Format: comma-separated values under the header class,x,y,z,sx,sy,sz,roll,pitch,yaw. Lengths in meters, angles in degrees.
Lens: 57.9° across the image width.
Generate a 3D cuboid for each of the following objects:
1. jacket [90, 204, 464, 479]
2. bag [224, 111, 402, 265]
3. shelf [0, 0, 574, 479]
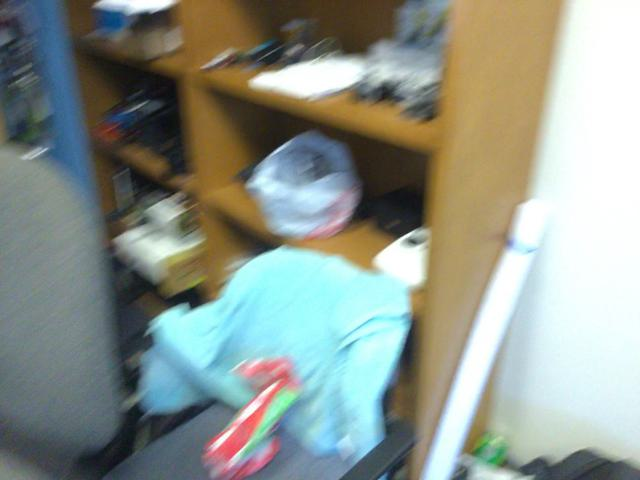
class,x,y,z,sx,sy,sz,roll,pitch,yaw
jacket,-0.100,0.290,1.180,0.420,0.480,0.590,-23,34,-36
bag,-0.010,-0.150,1.480,0.380,0.250,0.230,-23,34,-36
shelf,-0.320,-0.210,1.780,0.540,1.300,1.830,-23,34,-36
